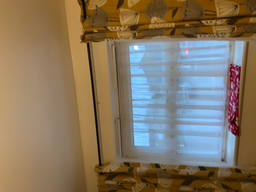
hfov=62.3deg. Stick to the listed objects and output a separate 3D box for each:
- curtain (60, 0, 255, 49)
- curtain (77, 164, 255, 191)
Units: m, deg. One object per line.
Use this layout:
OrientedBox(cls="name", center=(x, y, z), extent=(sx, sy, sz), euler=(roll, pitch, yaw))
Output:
OrientedBox(cls="curtain", center=(0.300, -0.530, 1.420), extent=(0.150, 1.500, 0.360), euler=(-59, -33, -72))
OrientedBox(cls="curtain", center=(0.350, 0.780, 1.760), extent=(0.100, 1.560, 0.320), euler=(-54, -37, -74))
